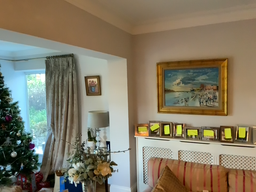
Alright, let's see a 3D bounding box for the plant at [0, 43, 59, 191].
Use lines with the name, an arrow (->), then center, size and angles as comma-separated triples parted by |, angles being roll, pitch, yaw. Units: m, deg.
plant -> -2.140, 0.410, 3.400 | 1.330, 2.240, 1.310 | -1, 4, 19
